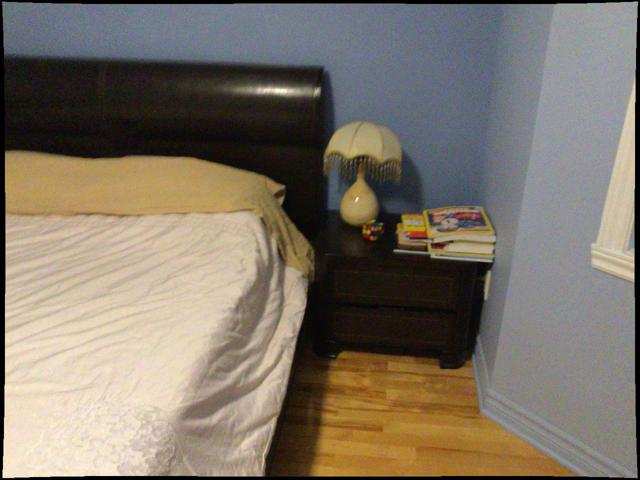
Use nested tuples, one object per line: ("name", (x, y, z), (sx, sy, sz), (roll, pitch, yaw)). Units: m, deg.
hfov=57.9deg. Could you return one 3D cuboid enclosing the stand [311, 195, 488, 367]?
("stand", (0.290, 0.140, 2.300), (0.599, 0.470, 0.500), (2, 26, 5))
